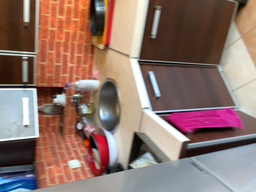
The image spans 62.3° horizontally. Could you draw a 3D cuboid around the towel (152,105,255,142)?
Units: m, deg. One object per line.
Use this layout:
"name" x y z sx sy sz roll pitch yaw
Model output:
"towel" 0.450 0.130 1.140 0.220 0.620 0.060 37 122 55
